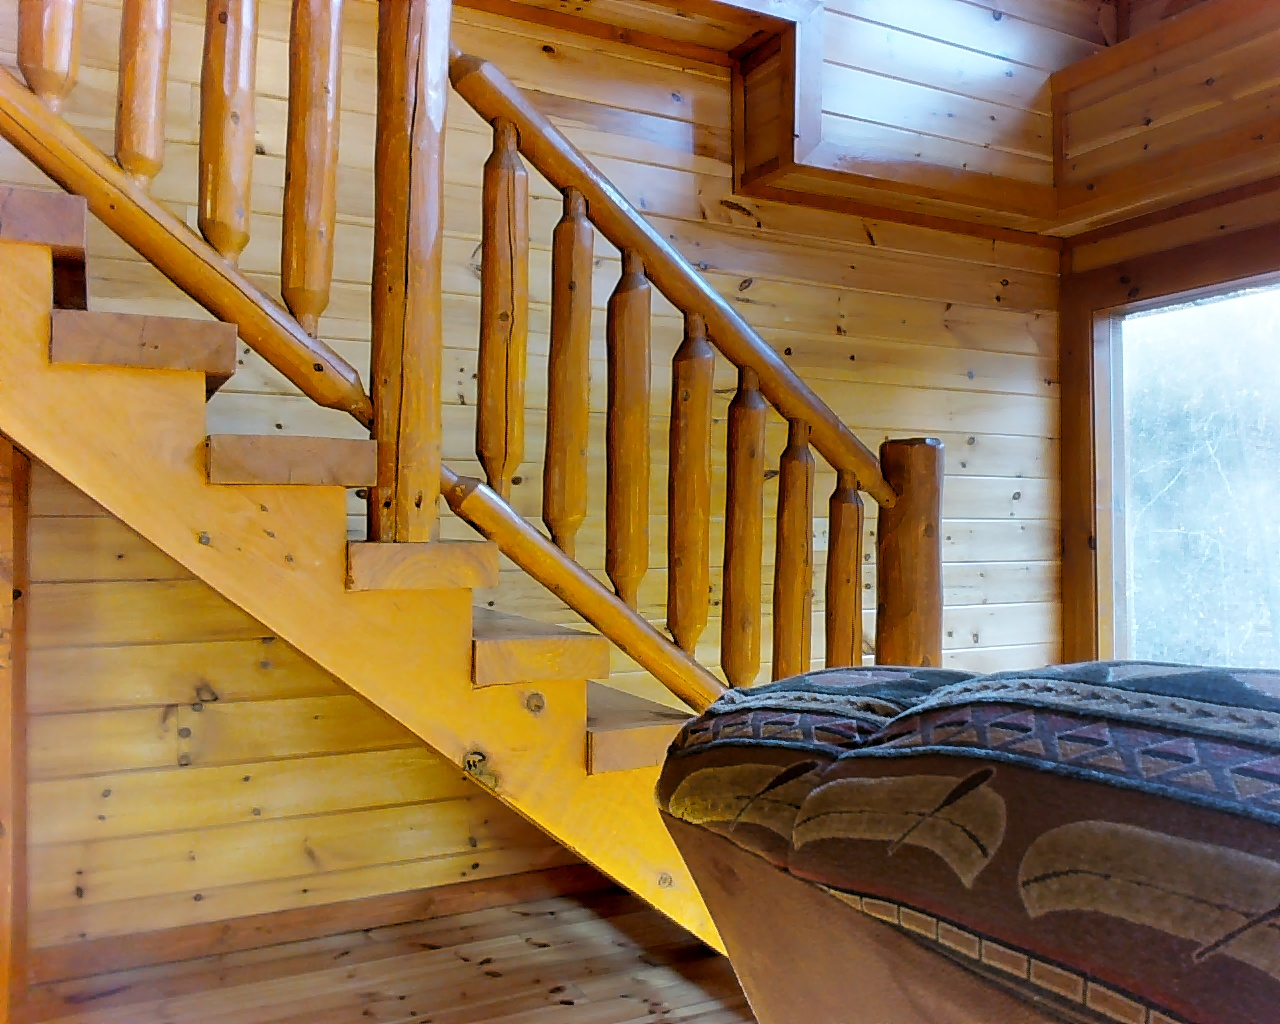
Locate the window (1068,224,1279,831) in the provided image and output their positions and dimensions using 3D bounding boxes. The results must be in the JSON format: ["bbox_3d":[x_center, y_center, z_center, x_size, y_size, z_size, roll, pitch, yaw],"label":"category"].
[{"bbox_3d":[2.159,0.060,4.120,0.420,2.051,0.900,0,-1,-25],"label":"window"}]
